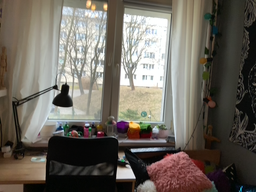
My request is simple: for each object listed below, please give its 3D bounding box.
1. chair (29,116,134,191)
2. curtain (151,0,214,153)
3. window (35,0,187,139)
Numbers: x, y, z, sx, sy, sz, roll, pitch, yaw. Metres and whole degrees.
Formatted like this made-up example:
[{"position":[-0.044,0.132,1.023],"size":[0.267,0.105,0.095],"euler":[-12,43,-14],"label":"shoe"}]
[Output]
[{"position":[-0.340,0.750,1.580],"size":[0.590,1.070,0.620],"euler":[3,5,-9],"label":"chair"},{"position":[0.530,-0.390,2.090],"size":[0.360,1.840,0.330],"euler":[3,5,-14],"label":"curtain"},{"position":[-0.150,-0.350,2.160],"size":[1.420,1.560,0.130],"euler":[3,5,-12],"label":"window"}]
